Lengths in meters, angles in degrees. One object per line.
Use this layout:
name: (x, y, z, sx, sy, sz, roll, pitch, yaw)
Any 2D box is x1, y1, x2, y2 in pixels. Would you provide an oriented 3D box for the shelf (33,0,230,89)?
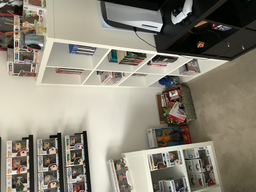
shelf: (0.010, -0.400, 1.820, 0.780, 1.450, 0.440, -32, 62, 57)
